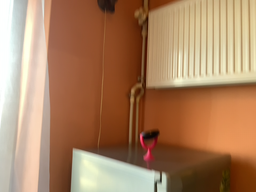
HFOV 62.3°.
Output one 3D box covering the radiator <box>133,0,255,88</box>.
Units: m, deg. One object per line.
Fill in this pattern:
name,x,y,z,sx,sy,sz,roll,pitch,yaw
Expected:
radiator,0.390,-0.340,1.200,0.770,0.550,0.190,-1,-5,43
